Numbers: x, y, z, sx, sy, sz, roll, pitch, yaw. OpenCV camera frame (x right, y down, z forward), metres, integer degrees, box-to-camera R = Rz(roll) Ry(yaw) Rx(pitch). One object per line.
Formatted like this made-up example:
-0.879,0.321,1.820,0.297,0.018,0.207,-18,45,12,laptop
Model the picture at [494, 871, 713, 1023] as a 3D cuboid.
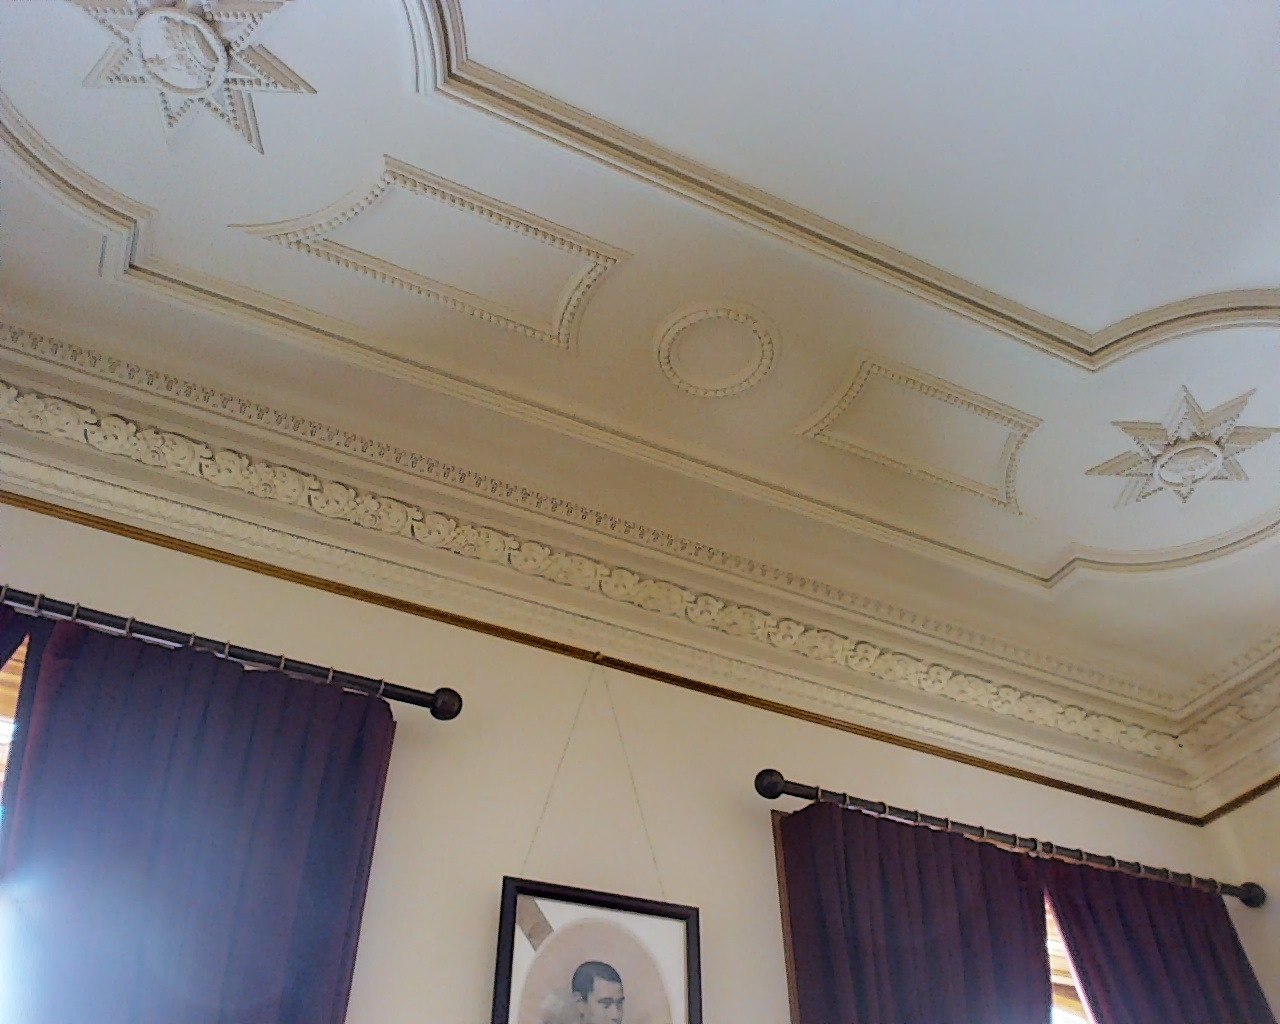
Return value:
-0.100,1.511,3.130,0.640,0.800,0.120,17,-45,-17,picture
